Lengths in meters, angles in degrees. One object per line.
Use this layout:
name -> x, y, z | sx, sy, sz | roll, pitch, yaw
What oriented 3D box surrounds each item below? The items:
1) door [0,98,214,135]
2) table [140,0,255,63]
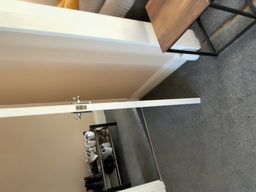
door -> -0.500, 0.110, 1.540 | 1.030, 2.090, 0.080 | 1, 93, 60
table -> 0.400, -0.460, 1.270 | 0.360, 0.460, 0.360 | -45, 55, 52
